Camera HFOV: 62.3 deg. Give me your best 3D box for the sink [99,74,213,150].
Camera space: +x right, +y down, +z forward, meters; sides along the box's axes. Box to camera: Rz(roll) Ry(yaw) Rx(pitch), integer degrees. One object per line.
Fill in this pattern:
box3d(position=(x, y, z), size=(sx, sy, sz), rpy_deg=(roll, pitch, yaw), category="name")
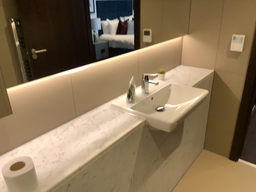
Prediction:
box3d(position=(0.220, 0.050, 1.480), size=(0.490, 0.150, 0.670), rpy_deg=(17, 30, 35), category="sink")
